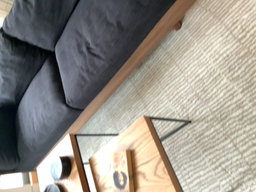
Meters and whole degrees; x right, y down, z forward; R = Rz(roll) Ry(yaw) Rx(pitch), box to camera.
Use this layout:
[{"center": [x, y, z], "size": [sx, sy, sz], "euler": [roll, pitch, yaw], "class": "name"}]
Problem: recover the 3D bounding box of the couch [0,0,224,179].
[{"center": [-0.510, -0.230, 1.570], "size": [1.990, 0.780, 0.810], "euler": [-46, 54, 30], "class": "couch"}]
